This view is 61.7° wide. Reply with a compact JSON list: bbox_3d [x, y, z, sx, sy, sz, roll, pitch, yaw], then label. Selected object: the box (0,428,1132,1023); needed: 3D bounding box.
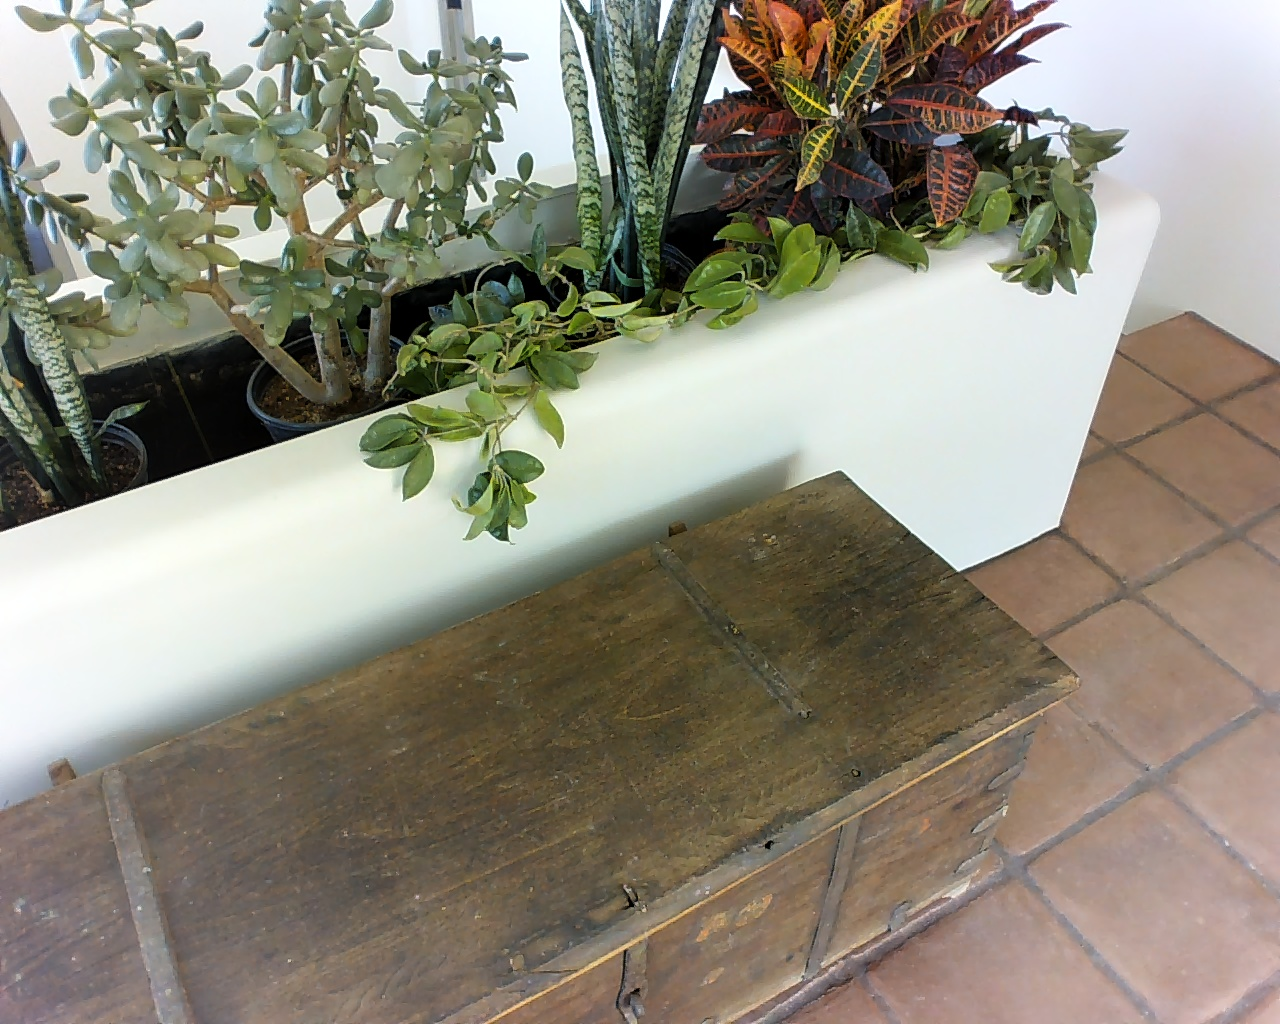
[{"bbox_3d":[-0.160,0.450,1.310,1.370,0.500,0.530,-22,47,-22],"label":"box"}]
